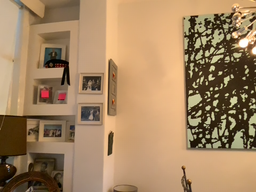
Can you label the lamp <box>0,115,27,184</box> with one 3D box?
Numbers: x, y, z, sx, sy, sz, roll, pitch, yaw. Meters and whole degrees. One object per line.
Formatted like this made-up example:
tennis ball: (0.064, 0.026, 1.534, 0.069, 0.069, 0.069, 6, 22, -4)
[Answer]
lamp: (-1.220, 0.500, 2.080, 0.380, 0.620, 0.330, 3, -8, -25)
